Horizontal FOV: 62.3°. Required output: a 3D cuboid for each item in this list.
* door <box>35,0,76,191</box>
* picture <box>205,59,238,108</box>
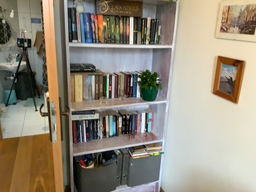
[{"bbox_3d":[-0.490,0.110,1.420,0.120,2.100,0.810,-5,19,-23],"label":"door"},{"bbox_3d":[0.560,-0.080,1.290,0.010,0.260,0.190,-4,18,-21],"label":"picture"}]
